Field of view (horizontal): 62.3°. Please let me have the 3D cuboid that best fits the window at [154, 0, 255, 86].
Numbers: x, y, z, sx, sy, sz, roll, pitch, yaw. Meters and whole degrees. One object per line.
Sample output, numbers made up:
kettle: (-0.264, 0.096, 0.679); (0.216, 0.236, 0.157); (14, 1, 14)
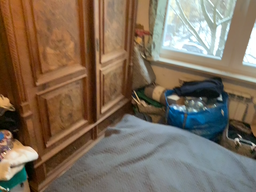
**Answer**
window: (1.080, -0.860, 1.910); (1.580, 1.450, 0.200); (18, 31, 25)
